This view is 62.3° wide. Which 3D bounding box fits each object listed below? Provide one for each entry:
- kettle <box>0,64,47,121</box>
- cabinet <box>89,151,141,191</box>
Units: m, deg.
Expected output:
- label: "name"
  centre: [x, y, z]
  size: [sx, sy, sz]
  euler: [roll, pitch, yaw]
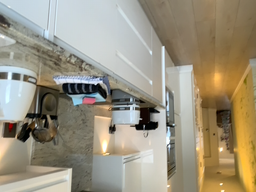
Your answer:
- label: "kettle"
  centre: [-0.480, 0.000, 0.900]
  size: [0.140, 0.200, 0.210]
  euler: [-3, 170, 19]
- label: "cabinet"
  centre: [-0.110, 0.970, 2.080]
  size: [0.320, 0.790, 0.520]
  euler: [-3, 170, 21]
